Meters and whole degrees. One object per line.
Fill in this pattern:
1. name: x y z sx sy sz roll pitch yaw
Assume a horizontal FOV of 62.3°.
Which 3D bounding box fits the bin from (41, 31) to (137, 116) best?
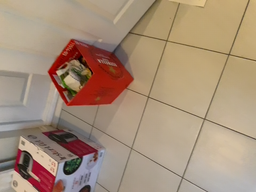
1. bin: -0.220 -0.110 1.230 0.330 0.340 0.280 -48 67 21
